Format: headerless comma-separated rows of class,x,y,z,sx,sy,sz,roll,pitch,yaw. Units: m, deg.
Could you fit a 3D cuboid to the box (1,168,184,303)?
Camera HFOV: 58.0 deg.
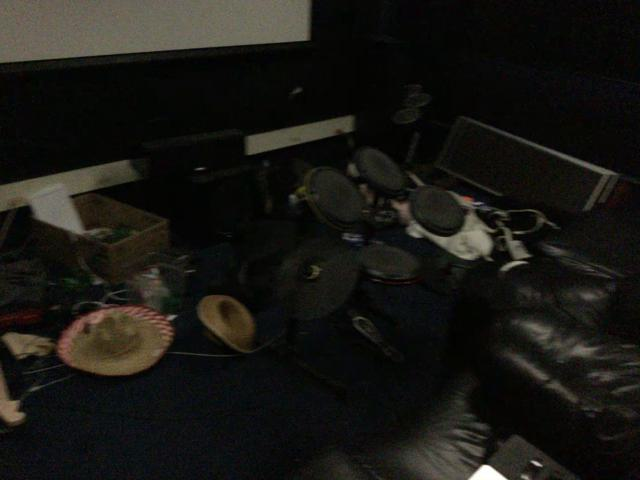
box,-1.140,-0.060,2.940,0.610,0.350,0.640,27,32,37

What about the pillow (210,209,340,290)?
pillow,-0.250,0.030,3.190,0.500,0.150,0.500,27,32,37

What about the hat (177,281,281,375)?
hat,-0.390,0.360,2.450,0.350,0.180,0.270,27,32,37

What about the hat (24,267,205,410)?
hat,-0.840,0.370,2.380,0.530,0.200,0.500,27,32,37
